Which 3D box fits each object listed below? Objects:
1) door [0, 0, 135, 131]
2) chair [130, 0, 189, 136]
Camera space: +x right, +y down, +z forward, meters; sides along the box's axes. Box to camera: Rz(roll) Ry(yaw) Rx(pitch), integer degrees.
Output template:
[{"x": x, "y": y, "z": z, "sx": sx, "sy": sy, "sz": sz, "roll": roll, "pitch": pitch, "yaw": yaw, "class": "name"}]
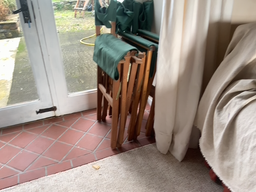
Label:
[{"x": -0.610, "y": -0.660, "z": 1.380, "sx": 1.430, "sy": 1.920, "sz": 0.040, "roll": -11, "pitch": 31, "yaw": -20, "class": "door"}, {"x": 0.180, "y": -0.220, "z": 1.590, "sx": 0.120, "sy": 0.870, "sz": 0.550, "roll": -11, "pitch": 31, "yaw": -19, "class": "chair"}]
